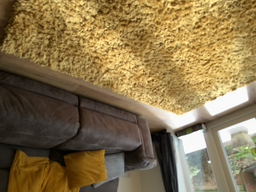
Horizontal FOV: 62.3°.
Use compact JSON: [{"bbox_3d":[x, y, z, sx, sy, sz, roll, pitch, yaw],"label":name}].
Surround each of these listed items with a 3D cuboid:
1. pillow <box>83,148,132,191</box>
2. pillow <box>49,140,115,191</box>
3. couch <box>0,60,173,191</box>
[{"bbox_3d":[-0.220,0.870,2.370,0.170,0.360,0.400,-33,-175,45],"label":"pillow"},{"bbox_3d":[-0.460,0.770,2.160,0.480,0.410,0.170,-35,-179,-34],"label":"pillow"},{"bbox_3d":[-0.590,0.620,2.150,1.740,0.970,1.080,19,142,-36],"label":"couch"}]
